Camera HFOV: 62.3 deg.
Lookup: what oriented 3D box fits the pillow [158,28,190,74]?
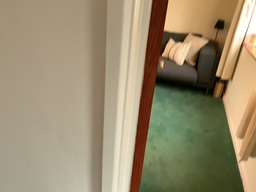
[{"bbox_3d":[0.740,-0.750,3.510,0.190,0.370,0.640,-13,64,-14],"label":"pillow"}]

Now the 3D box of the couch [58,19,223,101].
[{"bbox_3d":[0.200,-0.760,3.790,2.530,0.780,1.090,12,28,12],"label":"couch"}]
